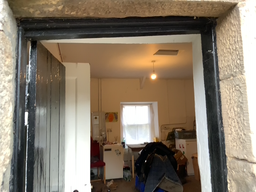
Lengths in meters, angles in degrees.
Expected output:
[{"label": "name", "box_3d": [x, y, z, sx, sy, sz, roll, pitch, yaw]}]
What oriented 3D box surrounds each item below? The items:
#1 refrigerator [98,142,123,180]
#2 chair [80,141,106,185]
[{"label": "refrigerator", "box_3d": [-0.470, 1.660, 5.530, 0.480, 0.820, 0.660, 0, -6, -18]}, {"label": "chair", "box_3d": [-0.870, 1.600, 5.160, 0.490, 0.890, 0.550, 1, -7, -25]}]
